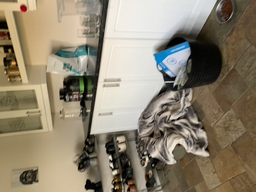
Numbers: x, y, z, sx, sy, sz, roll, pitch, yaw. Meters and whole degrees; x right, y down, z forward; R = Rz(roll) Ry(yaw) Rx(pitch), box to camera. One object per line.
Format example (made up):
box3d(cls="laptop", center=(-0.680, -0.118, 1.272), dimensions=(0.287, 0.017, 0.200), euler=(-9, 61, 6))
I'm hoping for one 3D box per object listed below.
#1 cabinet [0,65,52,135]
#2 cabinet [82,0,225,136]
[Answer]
box3d(cls="cabinet", center=(-1.410, 0.090, 2.590), dimensions=(1.000, 0.830, 0.290), euler=(109, 151, -50))
box3d(cls="cabinet", center=(0.090, -0.520, 2.100), dimensions=(2.570, 0.880, 0.600), euler=(109, 151, -50))
